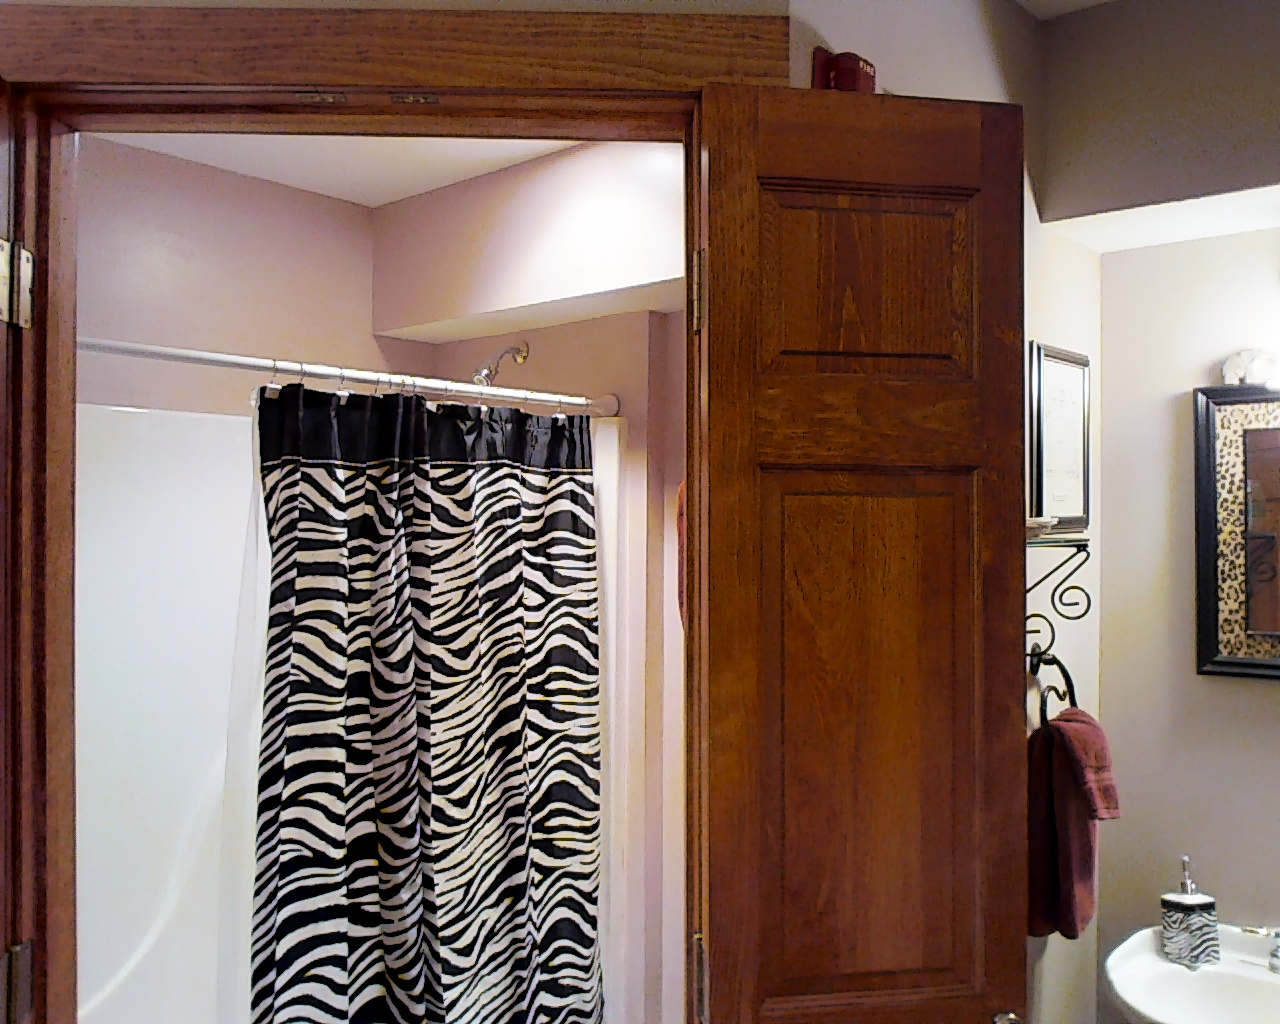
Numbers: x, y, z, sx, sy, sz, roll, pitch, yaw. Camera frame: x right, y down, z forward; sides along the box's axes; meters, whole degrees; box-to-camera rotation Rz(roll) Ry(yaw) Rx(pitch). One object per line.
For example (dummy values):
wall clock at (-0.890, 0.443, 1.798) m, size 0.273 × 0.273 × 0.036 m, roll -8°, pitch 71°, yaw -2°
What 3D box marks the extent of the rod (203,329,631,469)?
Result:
rod at (-0.430, -0.220, 2.370) m, size 0.200 × 0.210 × 1.000 m, roll -2°, pitch -1°, yaw 41°
